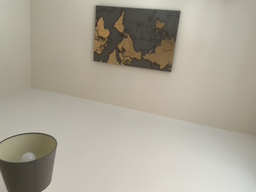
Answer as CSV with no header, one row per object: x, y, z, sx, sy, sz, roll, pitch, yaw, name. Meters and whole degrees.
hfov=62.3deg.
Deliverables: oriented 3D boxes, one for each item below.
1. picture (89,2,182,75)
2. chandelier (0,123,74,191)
0.040,-0.620,2.270,0.940,0.640,0.060,12,-162,15,picture
-0.490,0.380,1.020,0.300,0.340,0.310,15,-161,23,chandelier
